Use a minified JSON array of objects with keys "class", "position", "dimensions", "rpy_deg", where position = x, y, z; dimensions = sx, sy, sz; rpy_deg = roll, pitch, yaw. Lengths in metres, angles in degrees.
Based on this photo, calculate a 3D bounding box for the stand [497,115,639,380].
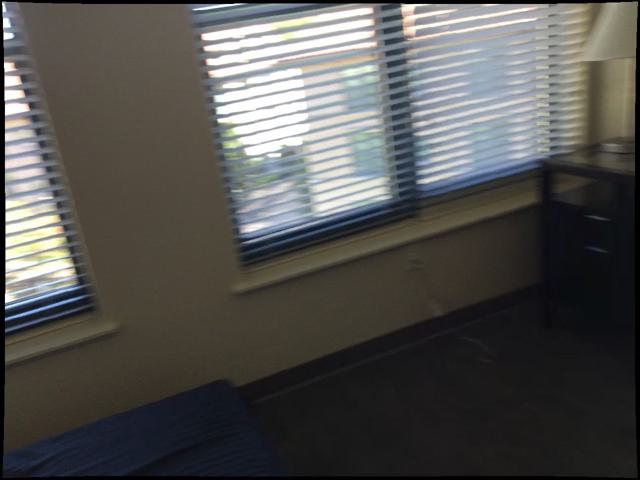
[{"class":"stand","position":[1.259,-0.010,2.320],"dimensions":[0.580,0.781,0.890],"rpy_deg":[-18,22,-18]}]

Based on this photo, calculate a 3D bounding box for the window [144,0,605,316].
[{"class":"window","position":[0.310,-0.691,2.390],"dimensions":[1.779,1.431,0.470],"rpy_deg":[-18,22,-18]}]
